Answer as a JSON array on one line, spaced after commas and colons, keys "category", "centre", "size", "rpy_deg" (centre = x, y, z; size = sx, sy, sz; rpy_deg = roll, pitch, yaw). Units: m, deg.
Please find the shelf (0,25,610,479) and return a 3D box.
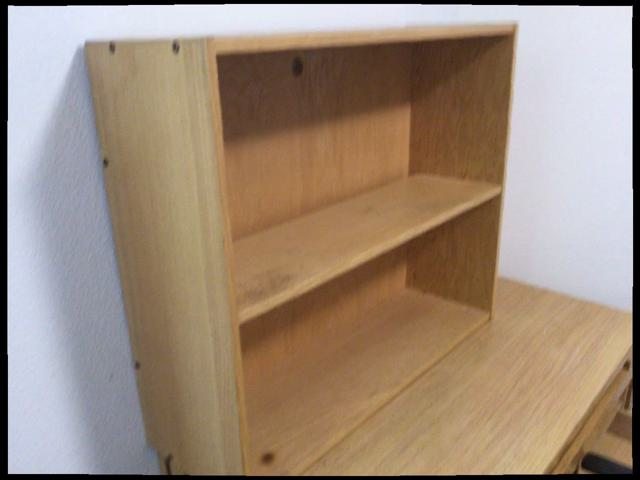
[{"category": "shelf", "centre": [-0.020, -0.010, 1.220], "size": [0.799, 0.781, 0.969], "rpy_deg": [16, 27, 40]}]
